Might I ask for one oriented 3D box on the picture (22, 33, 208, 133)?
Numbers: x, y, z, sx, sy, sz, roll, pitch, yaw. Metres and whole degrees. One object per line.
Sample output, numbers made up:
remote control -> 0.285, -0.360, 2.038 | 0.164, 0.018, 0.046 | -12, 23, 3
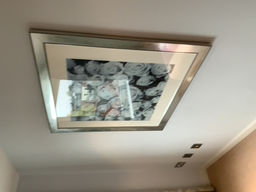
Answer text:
picture -> -0.110, 0.020, 1.440 | 0.970, 0.930, 0.020 | 107, 161, -52
